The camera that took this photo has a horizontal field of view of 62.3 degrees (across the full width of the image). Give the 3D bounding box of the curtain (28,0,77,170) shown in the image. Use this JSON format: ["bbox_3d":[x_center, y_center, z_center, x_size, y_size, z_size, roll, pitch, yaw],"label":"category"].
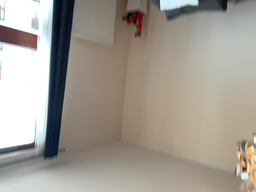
[{"bbox_3d":[-0.890,-0.380,2.530,0.260,2.430,0.320,8,-176,39],"label":"curtain"}]
